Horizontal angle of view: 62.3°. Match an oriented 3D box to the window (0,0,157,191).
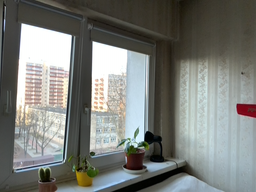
[{"bbox_3d":[-0.500,0.010,1.500,2.040,1.130,0.140,2,-1,-44],"label":"window"}]
